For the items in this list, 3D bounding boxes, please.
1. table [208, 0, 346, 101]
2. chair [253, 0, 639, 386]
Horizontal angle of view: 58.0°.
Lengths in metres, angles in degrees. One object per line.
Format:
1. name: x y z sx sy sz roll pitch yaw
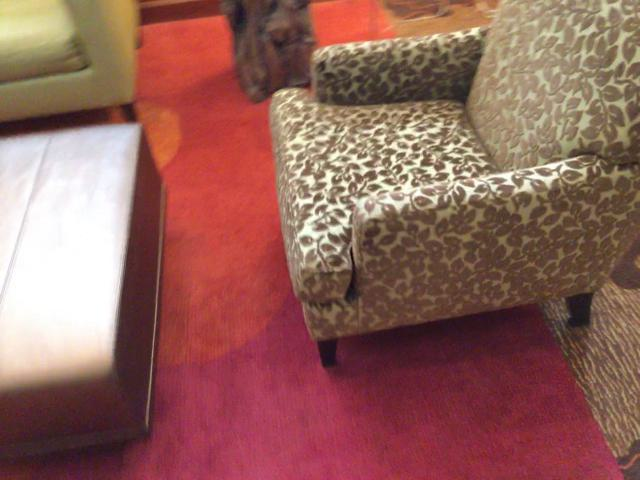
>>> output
1. table: -0.200 -0.970 2.370 0.500 0.620 0.460 -2 44 -12
2. chair: 0.300 -0.290 1.480 0.860 0.990 0.790 -6 45 -6
